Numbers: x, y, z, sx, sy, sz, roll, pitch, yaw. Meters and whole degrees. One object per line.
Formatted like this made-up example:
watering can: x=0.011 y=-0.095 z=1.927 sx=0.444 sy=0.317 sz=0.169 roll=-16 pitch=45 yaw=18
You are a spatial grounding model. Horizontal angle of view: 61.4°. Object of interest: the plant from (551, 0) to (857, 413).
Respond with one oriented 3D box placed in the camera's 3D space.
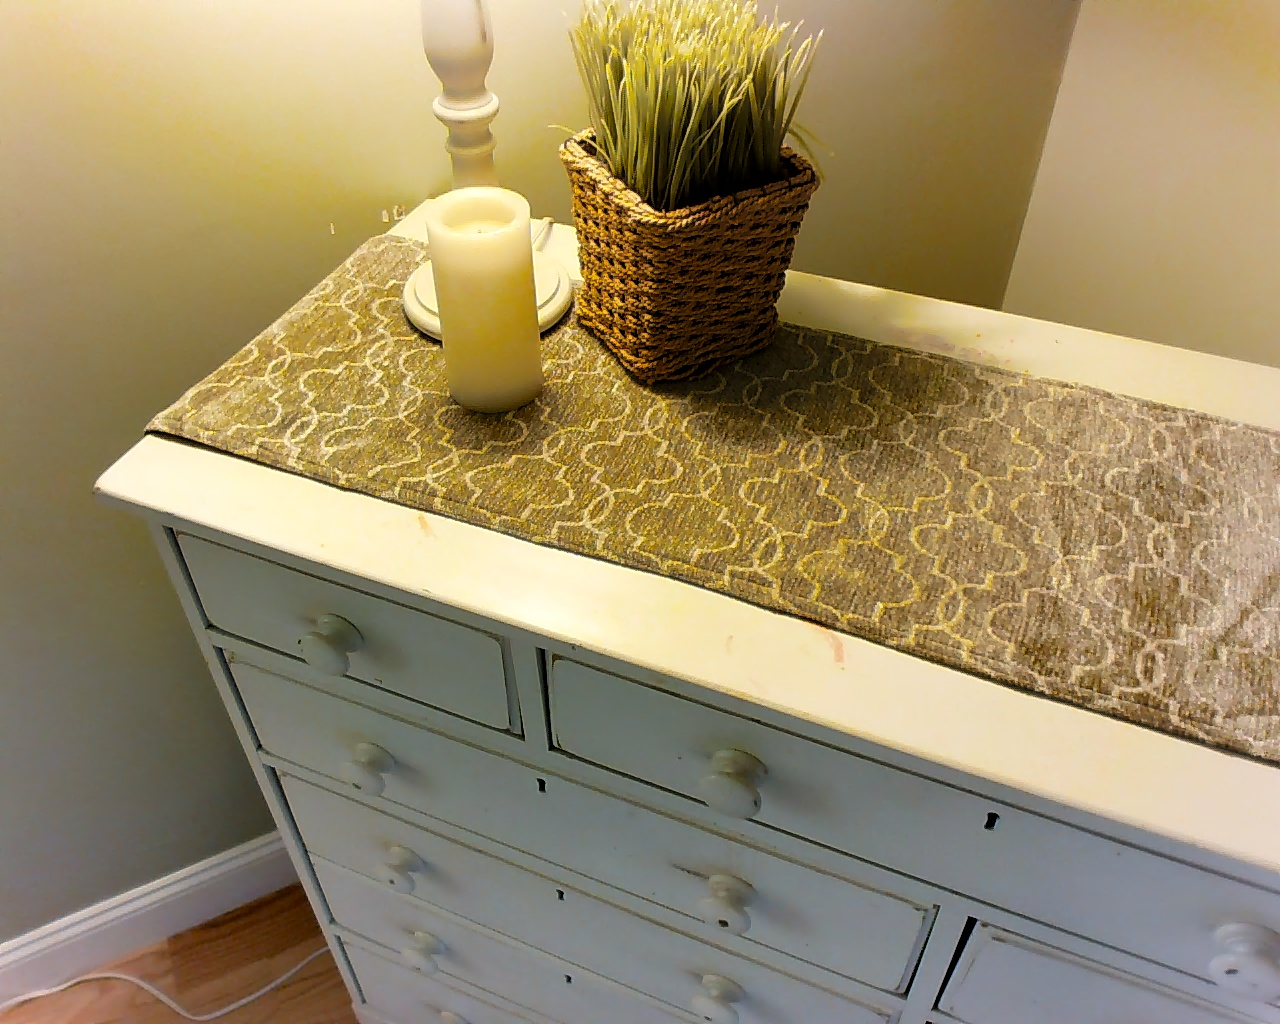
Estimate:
plant: x=0.040 y=-0.250 z=0.840 sx=0.140 sy=0.260 sz=0.180 roll=-21 pitch=46 yaw=-21
